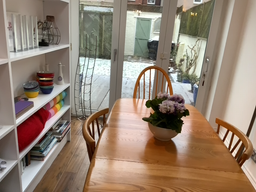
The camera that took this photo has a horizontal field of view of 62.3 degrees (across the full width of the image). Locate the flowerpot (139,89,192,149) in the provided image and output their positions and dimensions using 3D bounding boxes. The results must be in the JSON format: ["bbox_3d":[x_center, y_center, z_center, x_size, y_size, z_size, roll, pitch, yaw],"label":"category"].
[{"bbox_3d":[0.200,0.120,1.210,0.240,0.250,0.220,6,19,3],"label":"flowerpot"}]
